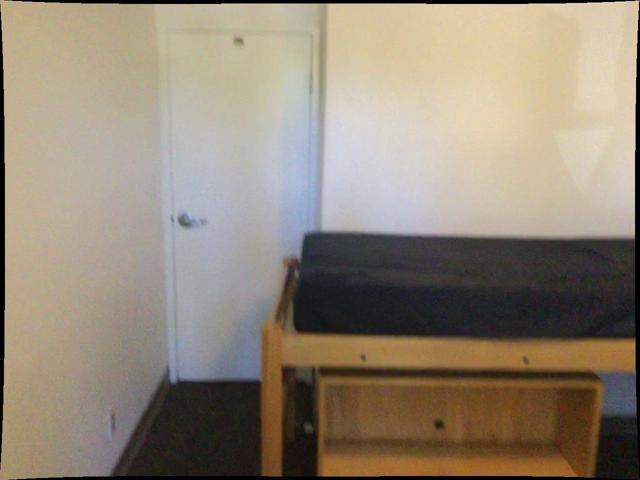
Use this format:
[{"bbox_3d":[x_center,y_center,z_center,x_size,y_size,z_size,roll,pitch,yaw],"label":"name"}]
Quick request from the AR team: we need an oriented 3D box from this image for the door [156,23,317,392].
[{"bbox_3d":[-0.459,-0.100,3.140,0.789,1.983,0.090,2,15,-3],"label":"door"}]

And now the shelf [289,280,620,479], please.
[{"bbox_3d":[0.389,0.721,2.360,1.008,0.801,1.030,2,14,-3],"label":"shelf"}]

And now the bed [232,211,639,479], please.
[{"bbox_3d":[0.829,0.591,2.330,2.226,1.132,1.120,2,13,-3],"label":"bed"}]
